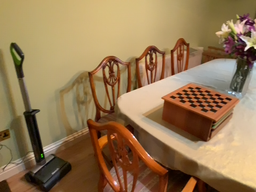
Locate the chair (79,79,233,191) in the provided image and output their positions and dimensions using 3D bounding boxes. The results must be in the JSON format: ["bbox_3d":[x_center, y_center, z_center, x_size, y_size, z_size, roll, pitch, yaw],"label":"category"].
[{"bbox_3d":[0.120,0.480,1.210,0.520,0.940,0.510,25,35,36],"label":"chair"}]

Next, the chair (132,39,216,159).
[{"bbox_3d":[0.410,0.010,2.100,0.510,0.970,0.480,25,35,36],"label":"chair"}]
